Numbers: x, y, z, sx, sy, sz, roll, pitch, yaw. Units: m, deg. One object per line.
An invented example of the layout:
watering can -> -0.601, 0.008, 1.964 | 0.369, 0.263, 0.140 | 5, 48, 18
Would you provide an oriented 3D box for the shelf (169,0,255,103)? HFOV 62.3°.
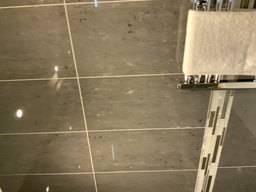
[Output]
shelf -> 0.540, -0.190, 0.830 | 0.110, 0.710, 0.420 | -91, -1, -60
